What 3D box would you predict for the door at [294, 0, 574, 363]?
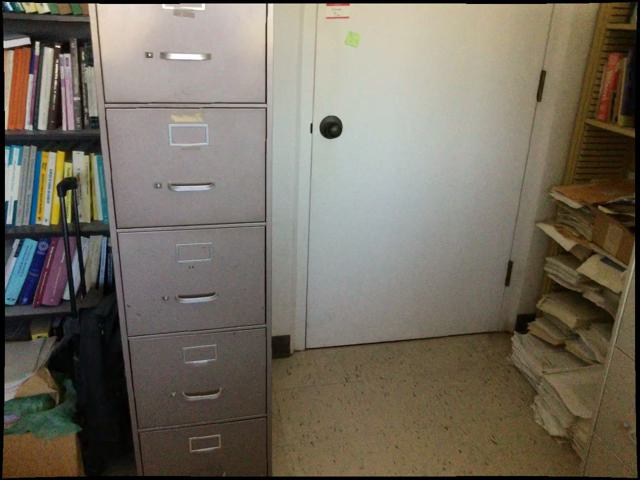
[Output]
[{"bbox_3d":[0.419,-0.571,2.200,1.027,2.235,0.120,-4,22,-11],"label":"door"}]
